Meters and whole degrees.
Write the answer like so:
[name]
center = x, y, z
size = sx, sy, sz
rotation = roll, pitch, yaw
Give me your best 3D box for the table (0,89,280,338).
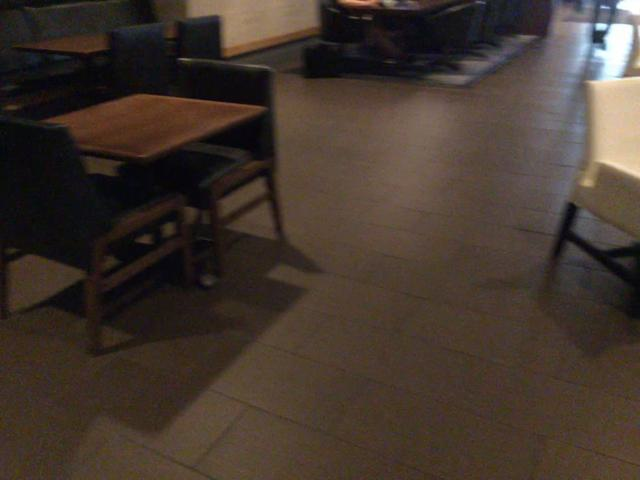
[table]
center = -0.750, -0.200, 2.520
size = 0.810, 0.750, 0.870
rotation = 11, 24, 24
